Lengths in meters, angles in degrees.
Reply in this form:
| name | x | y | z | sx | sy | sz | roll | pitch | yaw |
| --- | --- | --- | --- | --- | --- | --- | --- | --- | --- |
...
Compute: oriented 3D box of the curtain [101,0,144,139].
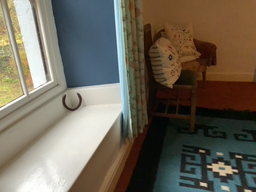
| name | x | y | z | sx | sy | sz | roll | pitch | yaw |
| --- | --- | --- | --- | --- | --- | --- | --- | --- | --- |
| curtain | -0.030 | -0.480 | 1.370 | 0.160 | 1.570 | 0.320 | 3 | 23 | 15 |
